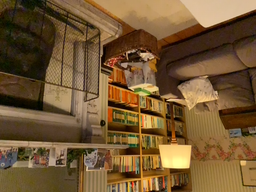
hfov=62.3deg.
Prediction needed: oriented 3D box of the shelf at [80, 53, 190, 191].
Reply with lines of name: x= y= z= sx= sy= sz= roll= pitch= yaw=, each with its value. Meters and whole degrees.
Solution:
shelf: x=0.290 y=0.680 z=3.590 sx=0.330 sy=2.090 sz=2.380 roll=-13 pitch=161 yaw=38

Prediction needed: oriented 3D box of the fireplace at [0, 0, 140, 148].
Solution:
fireplace: x=-0.850 y=-0.220 z=1.780 sx=0.880 sy=1.260 sz=1.870 roll=-14 pitch=160 yaw=41

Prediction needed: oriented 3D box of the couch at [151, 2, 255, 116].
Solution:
couch: x=1.310 y=-0.340 z=2.370 sx=1.820 sy=0.810 sz=0.970 roll=-13 pitch=161 yaw=38
